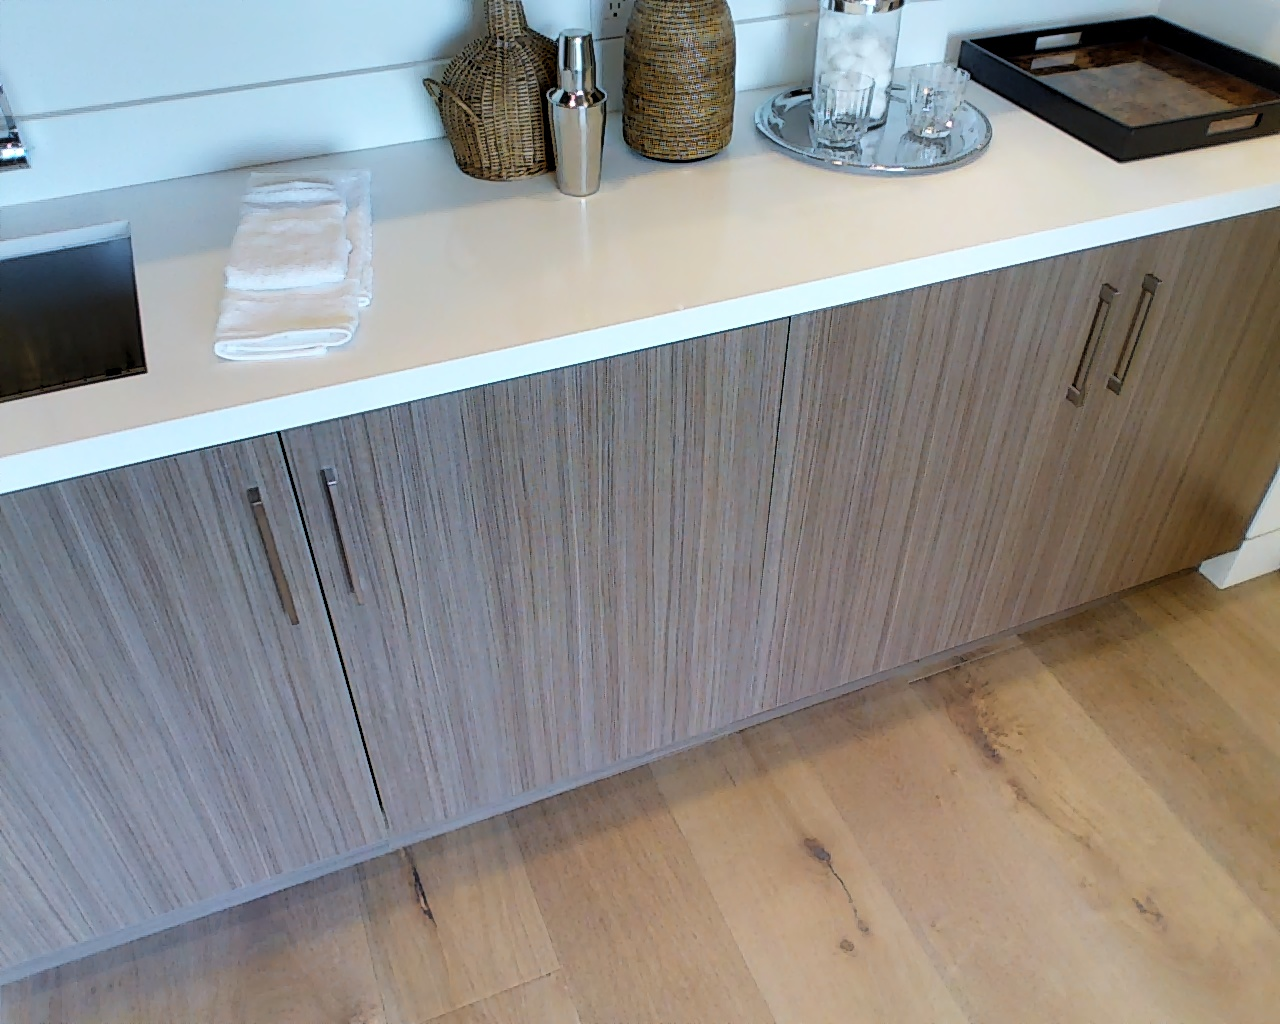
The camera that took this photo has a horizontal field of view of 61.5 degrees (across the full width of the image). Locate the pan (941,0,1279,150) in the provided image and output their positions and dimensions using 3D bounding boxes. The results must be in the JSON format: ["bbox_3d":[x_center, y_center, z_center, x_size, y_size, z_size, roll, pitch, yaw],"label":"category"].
[{"bbox_3d":[0.810,-0.720,1.720,0.470,0.040,0.440,-15,44,-17],"label":"pan"}]

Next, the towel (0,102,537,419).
[{"bbox_3d":[-0.490,-0.340,1.310,0.590,0.050,0.520,-15,44,-17],"label":"towel"}]

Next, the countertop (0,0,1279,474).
[{"bbox_3d":[-0.010,-0.440,1.440,2.330,0.050,0.610,-15,44,-17],"label":"countertop"}]
